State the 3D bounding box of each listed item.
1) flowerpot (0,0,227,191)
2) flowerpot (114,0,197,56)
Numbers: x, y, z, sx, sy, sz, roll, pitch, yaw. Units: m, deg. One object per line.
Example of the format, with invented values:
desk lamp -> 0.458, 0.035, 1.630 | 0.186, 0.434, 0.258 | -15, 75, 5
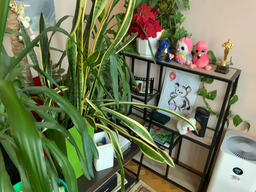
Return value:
flowerpot -> -0.330, 0.160, 1.020 | 0.960, 1.370, 0.950 | 24, 35, 34
flowerpot -> 0.160, -0.590, 1.300 | 0.450, 0.560, 0.220 | 22, 34, 31
